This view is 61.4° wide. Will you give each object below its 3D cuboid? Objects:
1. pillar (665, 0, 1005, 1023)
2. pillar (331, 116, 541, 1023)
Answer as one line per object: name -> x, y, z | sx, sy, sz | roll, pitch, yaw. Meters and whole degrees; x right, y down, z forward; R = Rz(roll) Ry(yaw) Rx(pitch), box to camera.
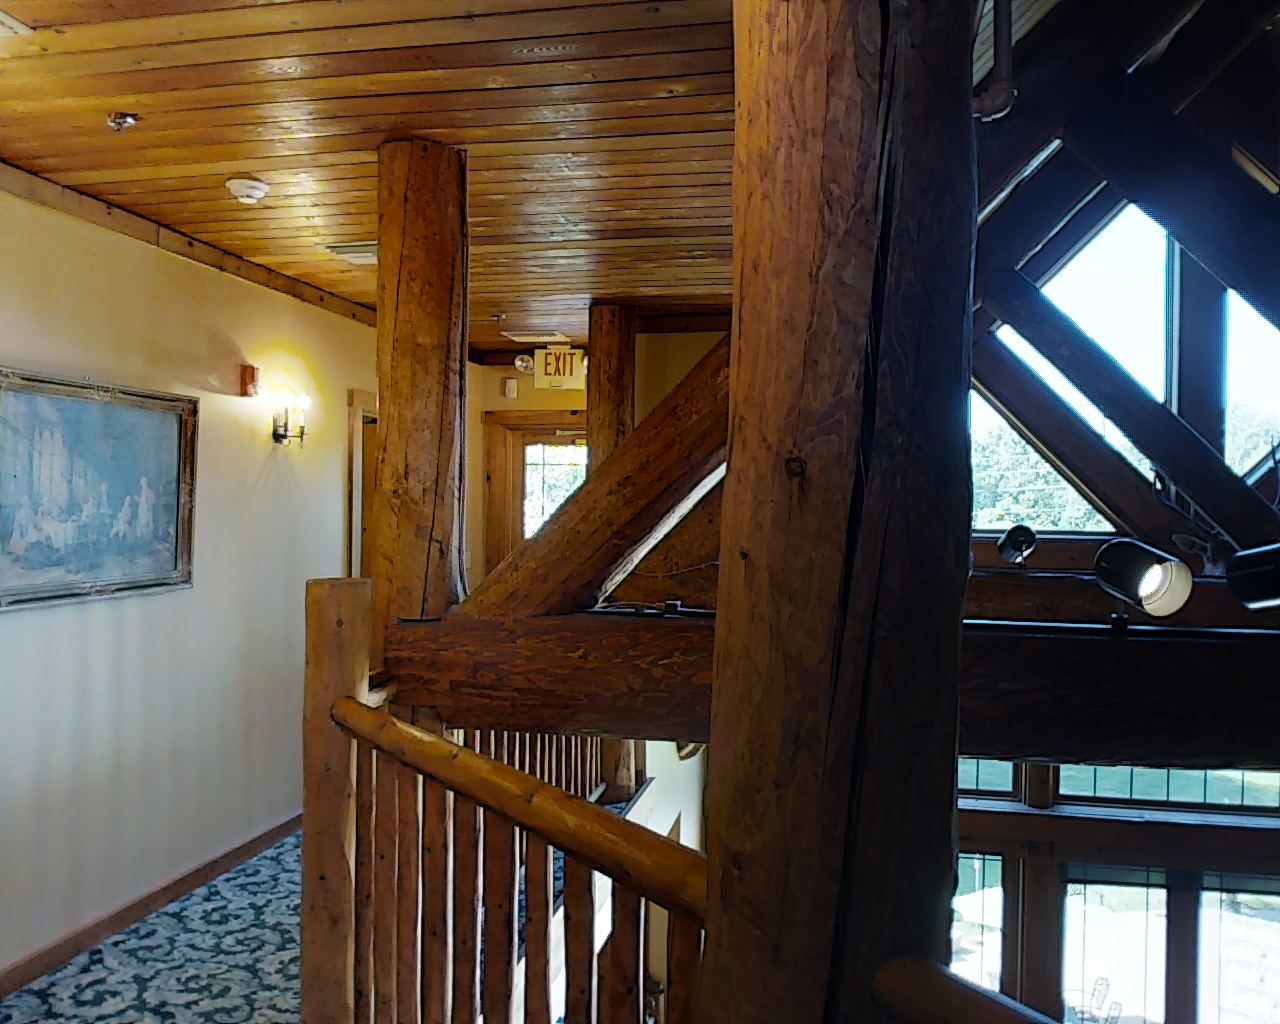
pillar -> 0.240, 0.320, 1.330 | 0.340, 2.421, 0.410 | 1, 0, 13
pillar -> -0.620, 0.220, 3.240 | 0.470, 2.591, 0.430 | 0, 0, -34
